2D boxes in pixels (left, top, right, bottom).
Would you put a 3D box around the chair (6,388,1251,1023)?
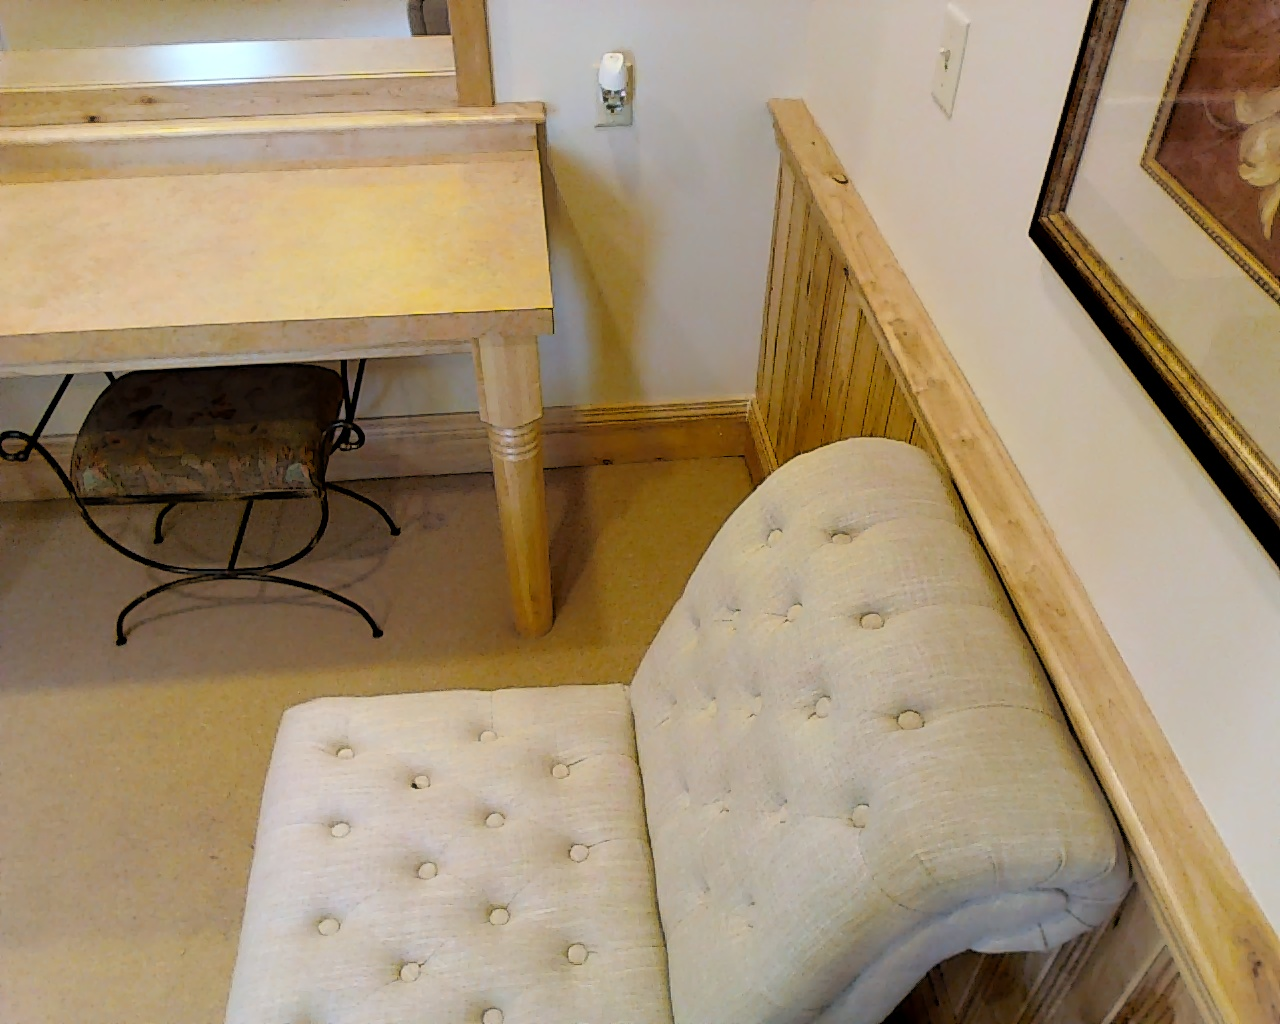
[{"bbox_3d":[-0.030,0.450,1.380,0.950,0.930,0.690,-4,43,-5],"label":"chair"}]
